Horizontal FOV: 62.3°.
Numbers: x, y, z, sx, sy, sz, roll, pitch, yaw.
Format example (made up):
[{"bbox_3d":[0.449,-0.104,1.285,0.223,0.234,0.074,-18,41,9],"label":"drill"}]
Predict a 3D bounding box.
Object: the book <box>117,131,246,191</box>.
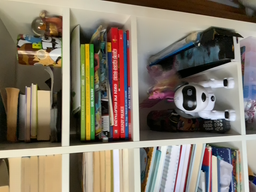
[{"bbox_3d":[0.140,0.310,0.730,0.400,0.260,0.330,169,102,-71],"label":"book"}]
